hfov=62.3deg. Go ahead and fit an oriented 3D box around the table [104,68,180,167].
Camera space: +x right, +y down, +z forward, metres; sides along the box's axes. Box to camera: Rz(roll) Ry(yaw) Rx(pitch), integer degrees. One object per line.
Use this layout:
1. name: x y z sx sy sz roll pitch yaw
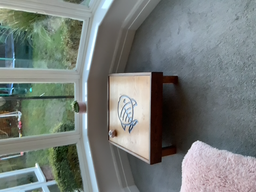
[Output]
1. table: 0.090 0.150 2.250 0.850 0.350 0.850 9 99 57
